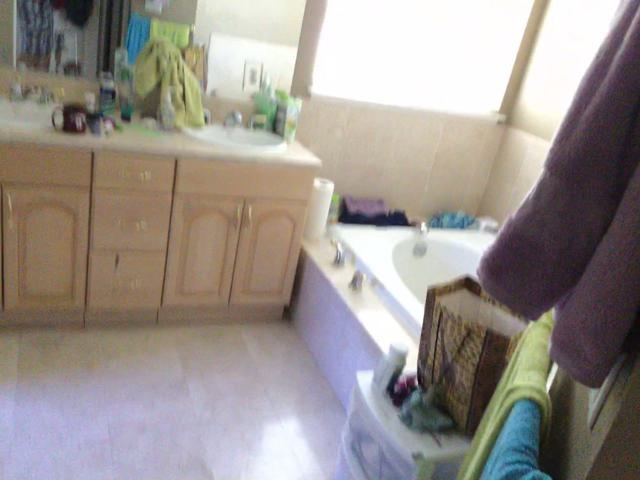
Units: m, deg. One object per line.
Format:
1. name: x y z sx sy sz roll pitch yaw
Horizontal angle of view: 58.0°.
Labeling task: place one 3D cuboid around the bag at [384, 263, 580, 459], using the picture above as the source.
1. bag: 0.380 0.280 1.440 0.230 0.330 0.330 1 25 -28
